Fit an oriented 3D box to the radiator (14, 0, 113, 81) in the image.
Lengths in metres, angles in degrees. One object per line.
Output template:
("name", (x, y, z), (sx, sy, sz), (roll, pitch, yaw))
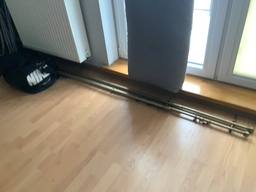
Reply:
("radiator", (-0.620, -0.770, 1.850), (0.920, 1.120, 0.210), (20, 45, 29))
